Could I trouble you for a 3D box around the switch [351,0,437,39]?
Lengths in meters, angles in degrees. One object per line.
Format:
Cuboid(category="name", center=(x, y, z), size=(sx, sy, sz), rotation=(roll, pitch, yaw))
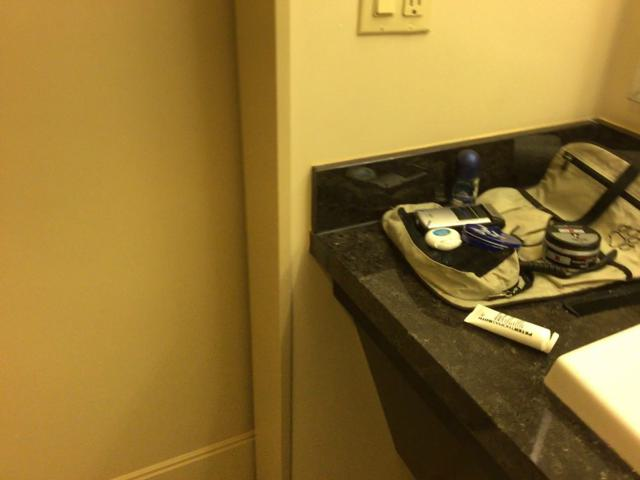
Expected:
Cuboid(category="switch", center=(0.100, -0.330, 0.750), size=(0.120, 0.120, 0.020), rotation=(-15, 36, -24))
